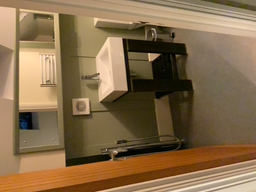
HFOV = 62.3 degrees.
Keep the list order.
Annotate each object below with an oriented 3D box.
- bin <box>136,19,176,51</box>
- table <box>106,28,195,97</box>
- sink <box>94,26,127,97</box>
[{"bbox_3d":[0.320,-0.690,2.440,0.250,0.350,0.250,154,112,-66],"label":"bin"},{"bbox_3d":[0.210,-0.310,2.220,0.480,0.720,0.540,151,115,-65],"label":"table"},{"bbox_3d":[-0.190,-0.300,2.060,0.490,0.140,0.540,151,115,-65],"label":"sink"}]
